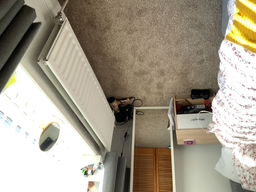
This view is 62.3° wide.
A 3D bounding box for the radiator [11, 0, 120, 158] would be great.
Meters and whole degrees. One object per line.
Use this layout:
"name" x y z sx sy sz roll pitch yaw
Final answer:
"radiator" -0.340 -0.030 1.720 0.160 0.580 1.300 -6 141 13
